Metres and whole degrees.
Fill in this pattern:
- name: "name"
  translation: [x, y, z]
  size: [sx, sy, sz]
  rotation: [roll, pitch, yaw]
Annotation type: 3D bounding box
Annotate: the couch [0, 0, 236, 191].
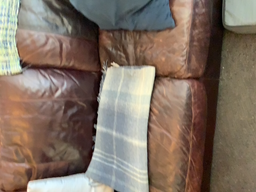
- name: "couch"
  translation: [-0.150, 0.230, 1.130]
  size: [0.980, 0.870, 2.300]
  rotation: [7, 98, 43]
